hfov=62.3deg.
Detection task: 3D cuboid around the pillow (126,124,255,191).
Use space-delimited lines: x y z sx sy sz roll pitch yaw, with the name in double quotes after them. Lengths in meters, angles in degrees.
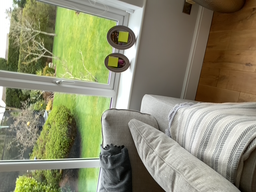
0.310 0.390 1.080 0.680 0.350 0.290 25 108 63 "pillow"
